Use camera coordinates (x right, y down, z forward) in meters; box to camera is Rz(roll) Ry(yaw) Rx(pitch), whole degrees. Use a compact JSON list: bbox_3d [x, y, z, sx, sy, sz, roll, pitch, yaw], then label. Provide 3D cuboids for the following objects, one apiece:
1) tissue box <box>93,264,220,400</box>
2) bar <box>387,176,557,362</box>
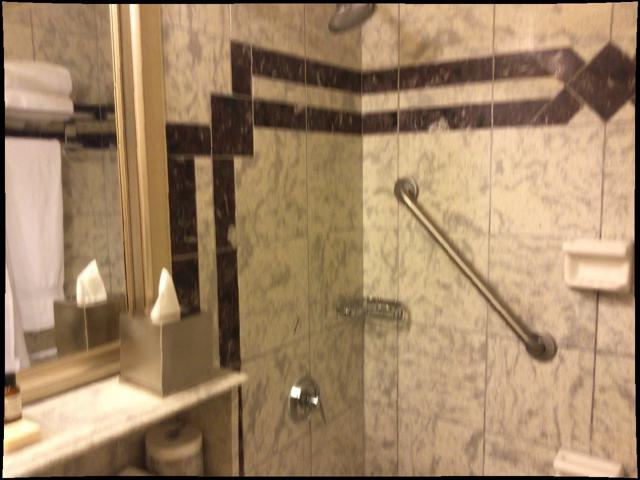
[{"bbox_3d":[-0.320,0.170,1.140,0.170,0.210,0.150,4,11,35],"label":"tissue box"},{"bbox_3d":[0.440,0.070,1.720,0.060,0.660,0.060,-15,-28,-53],"label":"bar"}]
